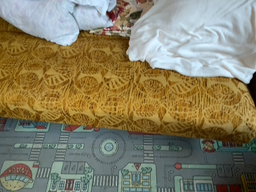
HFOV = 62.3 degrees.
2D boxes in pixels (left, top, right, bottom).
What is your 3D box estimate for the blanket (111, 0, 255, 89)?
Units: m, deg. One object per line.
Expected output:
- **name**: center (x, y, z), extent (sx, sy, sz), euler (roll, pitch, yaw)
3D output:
- **blanket**: center (0.390, -0.560, 1.250), extent (0.780, 0.360, 0.970), euler (5, 55, 6)
